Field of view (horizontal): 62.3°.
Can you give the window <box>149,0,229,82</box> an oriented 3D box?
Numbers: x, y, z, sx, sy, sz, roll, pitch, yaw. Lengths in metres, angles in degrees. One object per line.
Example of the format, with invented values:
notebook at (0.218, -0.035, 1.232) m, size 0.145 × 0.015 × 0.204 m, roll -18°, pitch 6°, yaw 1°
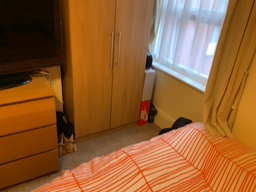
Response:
window at (0.550, -1.040, 1.810) m, size 0.060 × 1.690 × 0.760 m, roll -13°, pitch 33°, yaw -32°
